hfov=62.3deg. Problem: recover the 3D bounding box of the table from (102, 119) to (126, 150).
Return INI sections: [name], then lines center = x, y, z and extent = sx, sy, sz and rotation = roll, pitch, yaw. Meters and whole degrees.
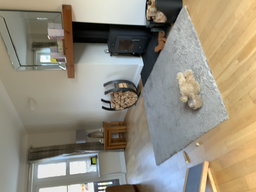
[table]
center = -0.330, 0.860, 4.820
extent = 0.410, 0.490, 0.550
rotation = -135, 45, -70
